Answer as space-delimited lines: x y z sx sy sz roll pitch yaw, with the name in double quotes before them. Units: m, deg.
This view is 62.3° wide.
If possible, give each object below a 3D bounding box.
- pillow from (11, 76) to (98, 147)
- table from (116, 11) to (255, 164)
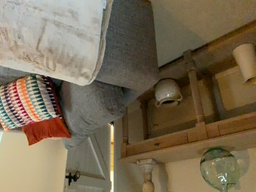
"pillow" -0.580 0.130 1.710 0.570 0.470 0.170 -16 129 31
"table" 0.660 0.020 1.840 1.690 0.830 0.450 -24 146 36
